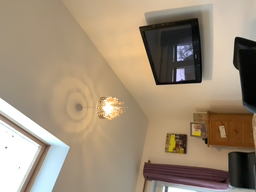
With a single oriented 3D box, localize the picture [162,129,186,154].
[{"bbox_3d":[0.840,0.820,3.860,0.100,0.380,0.400,64,-146,-48],"label":"picture"}]
